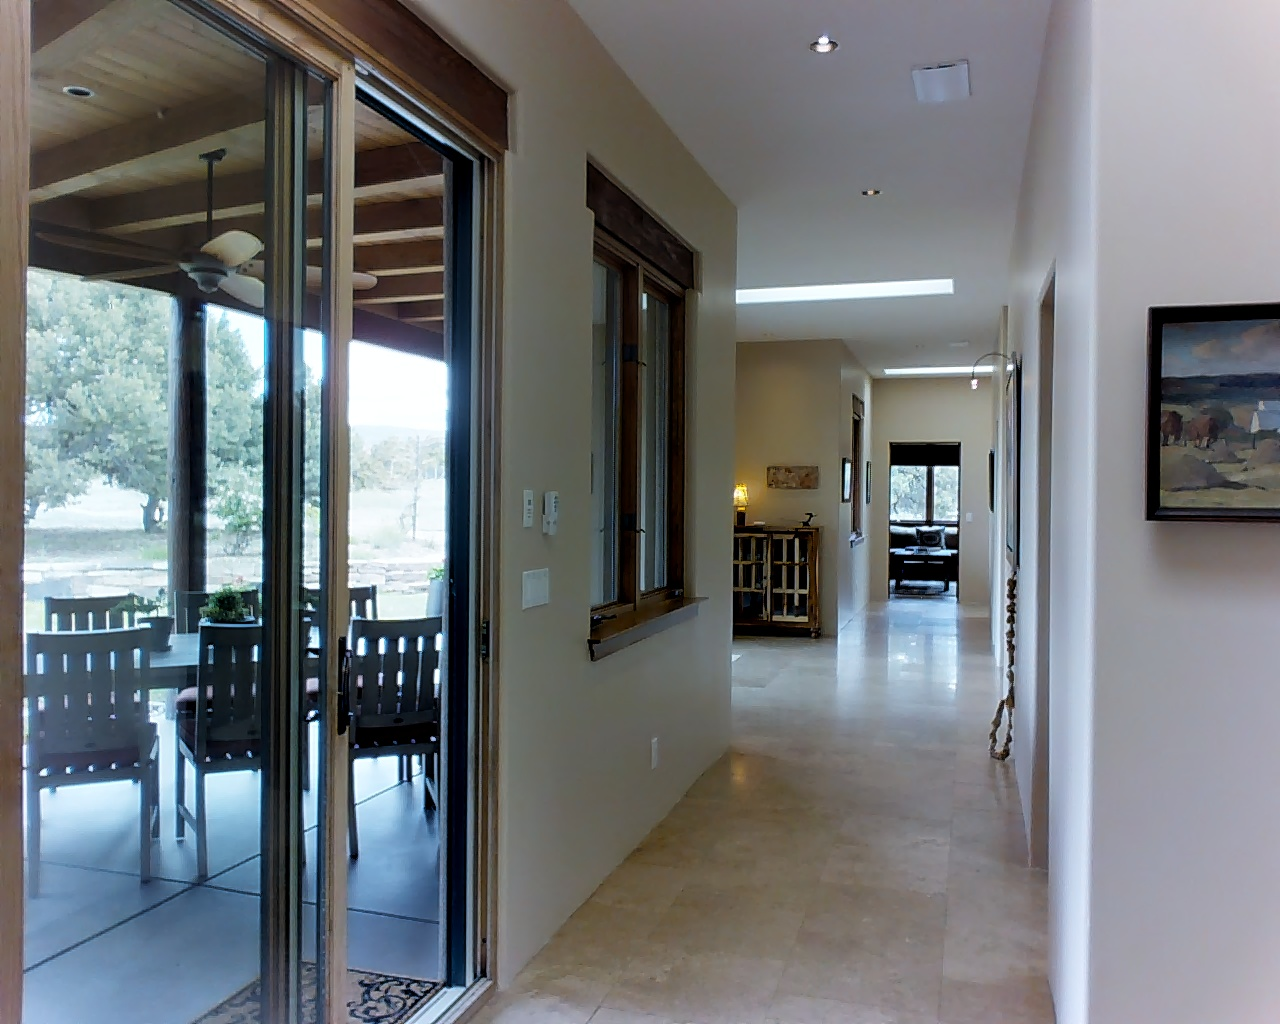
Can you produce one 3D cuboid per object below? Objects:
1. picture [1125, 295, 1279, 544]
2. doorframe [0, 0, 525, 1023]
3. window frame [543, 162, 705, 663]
[{"bbox_3d":[1.310,-0.180,2.140,0.590,0.490,0.040,4,2,17],"label":"picture"},{"bbox_3d":[-0.730,0.110,2.260,0.240,2.541,1.880,1,0,17],"label":"doorframe"},{"bbox_3d":[-0.010,-0.350,4.550,0.180,1.740,1.670,1,0,17],"label":"window frame"}]
